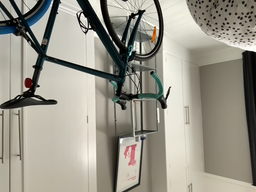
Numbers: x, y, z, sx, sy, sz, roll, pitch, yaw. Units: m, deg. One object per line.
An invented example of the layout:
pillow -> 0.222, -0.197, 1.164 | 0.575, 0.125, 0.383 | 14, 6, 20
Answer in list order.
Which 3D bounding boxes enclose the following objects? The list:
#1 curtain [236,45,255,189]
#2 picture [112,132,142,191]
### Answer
curtain -> 2.140, 0.340, 3.520 | 0.130, 2.350, 0.480 | 1, 176, -42
picture -> 0.000, 0.870, 2.800 | 0.080, 0.680, 0.530 | 3, -176, 38
